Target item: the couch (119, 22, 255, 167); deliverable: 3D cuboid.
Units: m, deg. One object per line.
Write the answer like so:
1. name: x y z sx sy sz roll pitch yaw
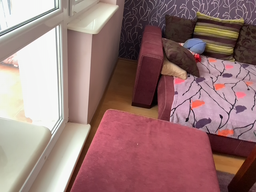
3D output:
1. couch: 1.300 -0.060 2.240 2.530 0.630 1.550 10 33 1

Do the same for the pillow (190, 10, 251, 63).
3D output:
1. pillow: 1.120 -0.730 2.620 0.490 0.430 0.260 20 30 -10
